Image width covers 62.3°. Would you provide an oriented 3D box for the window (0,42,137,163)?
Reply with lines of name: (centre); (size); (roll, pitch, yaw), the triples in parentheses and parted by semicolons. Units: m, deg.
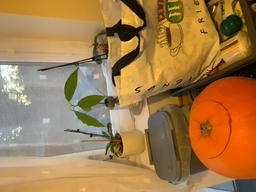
window: (-0.440, 0.010, 0.860); (0.040, 0.960, 0.480); (142, 122, -61)
